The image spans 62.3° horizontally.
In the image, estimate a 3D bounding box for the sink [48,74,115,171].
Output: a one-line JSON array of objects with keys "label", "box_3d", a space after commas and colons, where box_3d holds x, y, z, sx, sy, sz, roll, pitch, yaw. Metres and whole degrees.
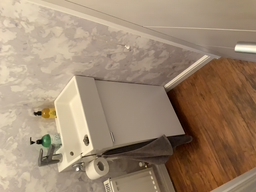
[{"label": "sink", "box_3d": [-0.290, 0.160, 1.210, 0.400, 0.120, 0.400, -41, 60, 39]}]
